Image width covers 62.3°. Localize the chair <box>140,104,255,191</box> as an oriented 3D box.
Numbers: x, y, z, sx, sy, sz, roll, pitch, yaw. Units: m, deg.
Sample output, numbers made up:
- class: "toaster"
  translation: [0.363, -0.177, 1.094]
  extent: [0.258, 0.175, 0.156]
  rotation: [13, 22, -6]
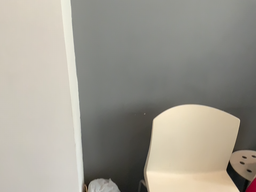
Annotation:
- class: "chair"
  translation: [0.330, 0.520, 1.030]
  extent: [0.470, 0.820, 0.510]
  rotation: [0, 24, -4]
